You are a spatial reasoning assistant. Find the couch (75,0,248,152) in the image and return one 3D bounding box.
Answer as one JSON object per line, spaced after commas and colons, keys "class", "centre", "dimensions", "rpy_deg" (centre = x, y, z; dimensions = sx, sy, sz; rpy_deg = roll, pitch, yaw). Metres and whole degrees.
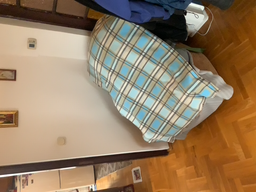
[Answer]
{"class": "couch", "centre": [0.160, -0.200, 2.020], "dimensions": [0.960, 1.020, 1.040], "rpy_deg": [-57, 40, 47]}
